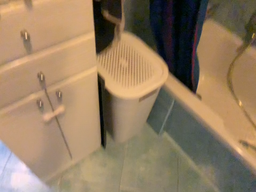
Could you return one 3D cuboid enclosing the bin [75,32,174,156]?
[{"bbox_3d":[-0.050,0.010,1.290,0.310,0.570,0.420,-28,61,-24],"label":"bin"}]
